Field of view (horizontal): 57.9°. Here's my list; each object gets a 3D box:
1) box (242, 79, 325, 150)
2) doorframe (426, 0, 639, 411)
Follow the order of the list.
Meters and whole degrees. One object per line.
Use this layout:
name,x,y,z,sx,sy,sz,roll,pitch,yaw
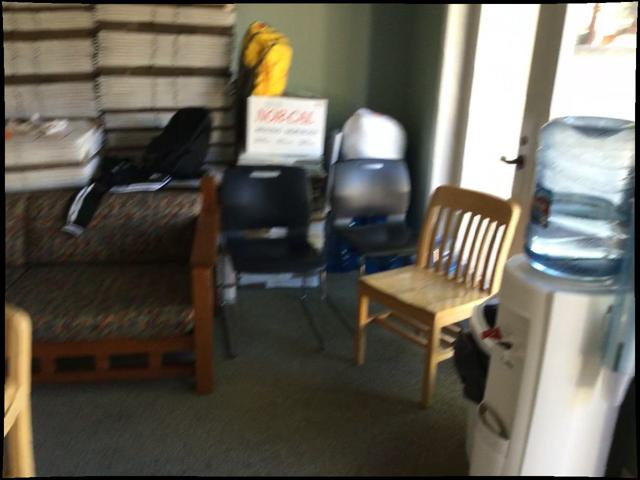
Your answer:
box,-0.220,-0.751,3.440,0.470,0.370,0.250,-2,22,-6
doorframe,0.859,-0.601,2.410,0.200,1.742,1.850,-2,22,-6
